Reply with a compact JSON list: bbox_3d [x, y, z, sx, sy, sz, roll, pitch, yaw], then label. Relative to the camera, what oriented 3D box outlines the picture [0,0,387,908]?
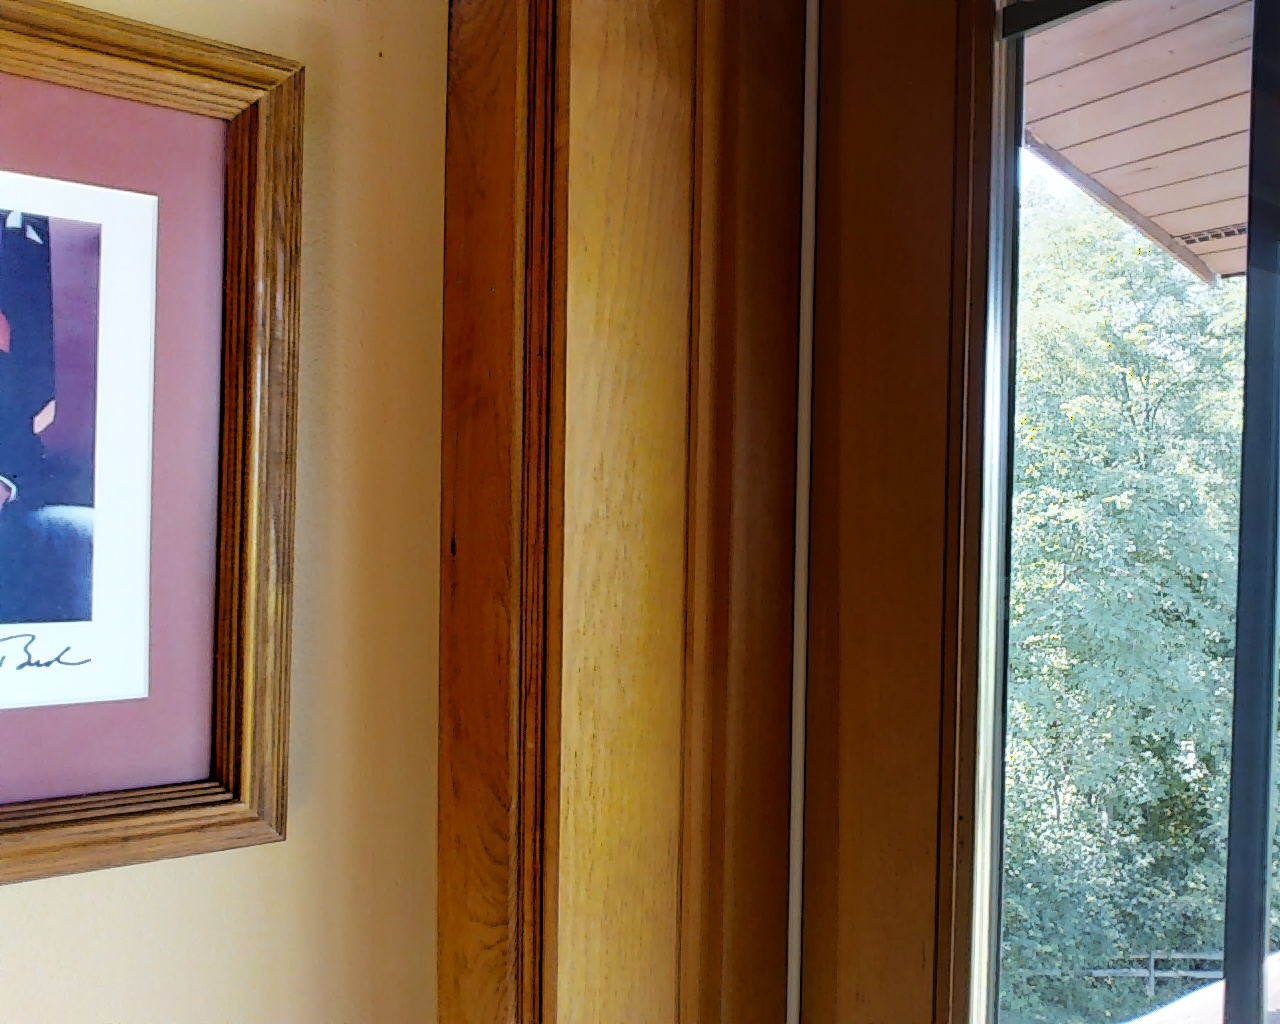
[{"bbox_3d":[-0.310,-0.030,0.480,0.390,0.410,0.040,1,0,-35],"label":"picture"}]
